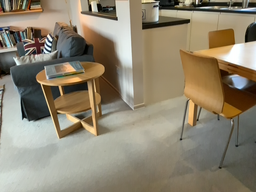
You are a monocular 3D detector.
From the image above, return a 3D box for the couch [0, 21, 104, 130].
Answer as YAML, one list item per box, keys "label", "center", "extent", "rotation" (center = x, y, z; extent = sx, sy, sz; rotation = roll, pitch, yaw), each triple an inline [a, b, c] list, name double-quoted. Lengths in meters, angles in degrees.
- label: "couch"
  center: [-1.130, -0.460, 2.860]
  extent: [0.980, 0.820, 1.710]
  rotation: [-15, 28, -22]

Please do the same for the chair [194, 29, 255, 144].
- label: "chair"
  center: [0.950, -0.110, 1.900]
  extent: [0.370, 0.850, 0.510]
  rotation: [-16, 28, -24]

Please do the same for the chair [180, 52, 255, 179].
- label: "chair"
  center: [0.680, 0.130, 1.520]
  extent: [0.440, 0.770, 0.360]
  rotation: [-9, 26, -11]
